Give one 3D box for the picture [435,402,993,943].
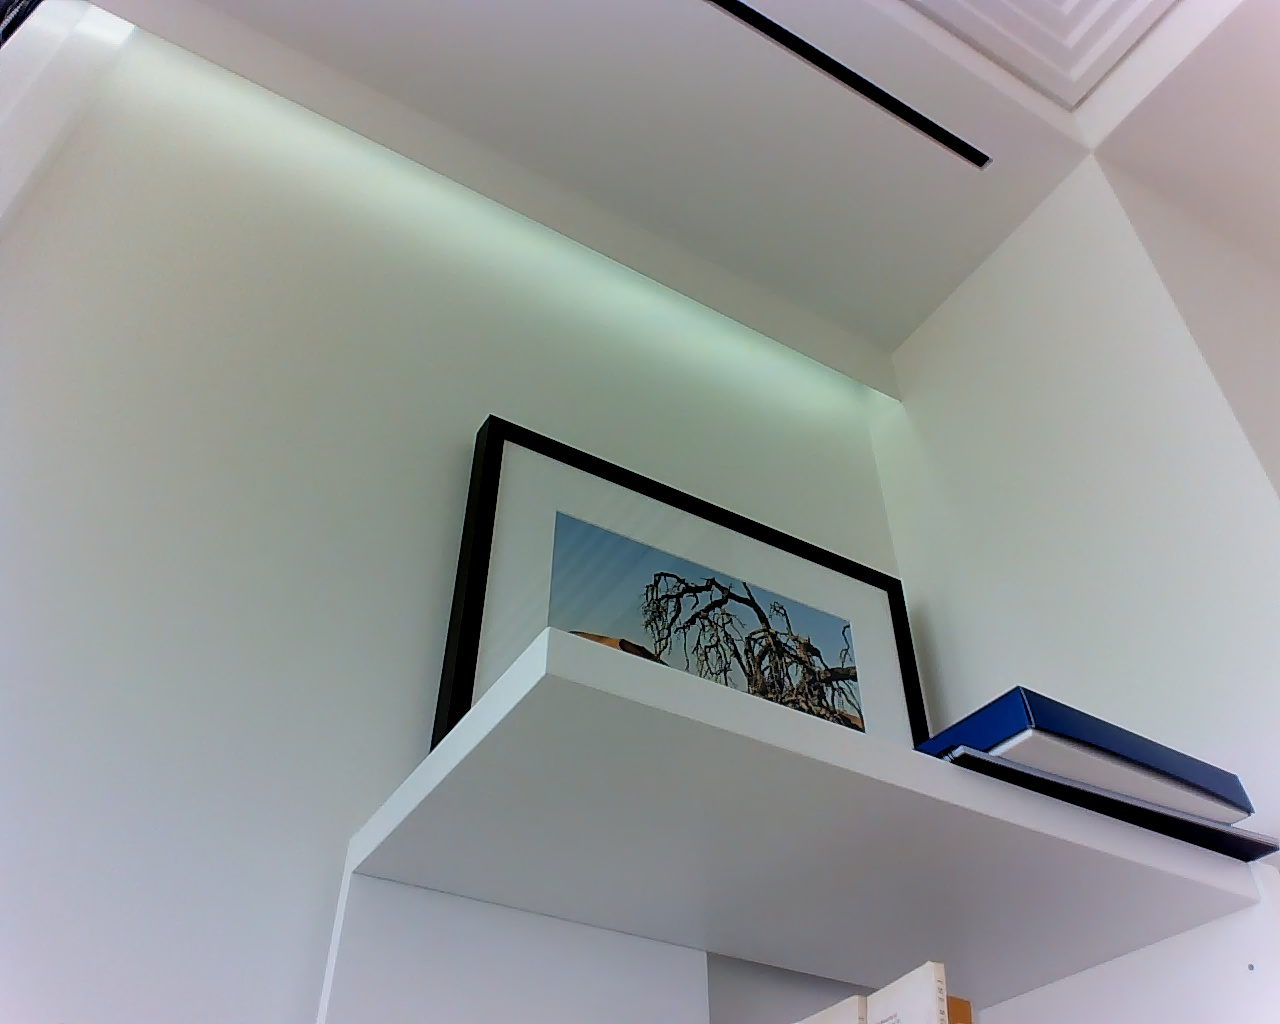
[{"bbox_3d":[0.090,0.160,1.100,0.560,0.430,0.060,22,-46,-22],"label":"picture"}]
